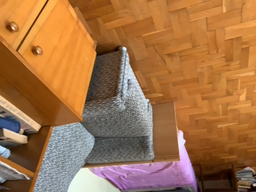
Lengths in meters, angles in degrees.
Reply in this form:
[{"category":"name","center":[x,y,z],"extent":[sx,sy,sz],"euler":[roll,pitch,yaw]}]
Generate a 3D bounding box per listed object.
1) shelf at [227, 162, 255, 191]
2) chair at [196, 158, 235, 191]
[{"category":"shelf","center":[1.670,1.360,2.780],"extent":[0.500,0.870,0.330],"euler":[-10,139,16]},{"category":"chair","center":[1.210,1.340,2.860],"extent":[0.390,0.790,0.520],"euler":[-10,139,16]}]
